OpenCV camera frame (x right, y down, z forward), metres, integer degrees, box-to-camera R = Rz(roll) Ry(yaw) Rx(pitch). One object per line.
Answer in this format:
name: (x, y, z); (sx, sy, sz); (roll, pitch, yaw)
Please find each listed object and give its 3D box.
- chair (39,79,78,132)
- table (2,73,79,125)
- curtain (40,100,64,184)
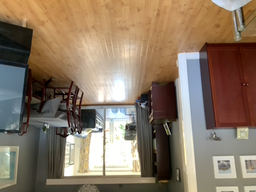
chair: (-1.340, 0.200, 4.200); (0.570, 0.970, 0.510); (-1, 166, -2)
table: (-1.680, 0.150, 4.440); (0.930, 0.740, 1.580); (-1, 166, -1)
curtain: (-2.020, 1.190, 5.710); (0.410, 2.140, 0.320); (-1, 166, -2)
